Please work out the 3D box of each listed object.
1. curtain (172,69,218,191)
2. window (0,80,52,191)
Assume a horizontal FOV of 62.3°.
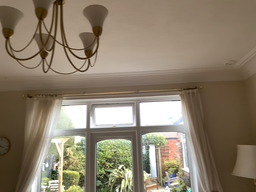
[{"bbox_3d":[0.910,1.010,2.820,0.400,2.760,0.320,-2,-14,4],"label":"curtain"},{"bbox_3d":[-1.430,1.080,2.910,0.530,2.630,0.220,-3,-14,5],"label":"window"}]
